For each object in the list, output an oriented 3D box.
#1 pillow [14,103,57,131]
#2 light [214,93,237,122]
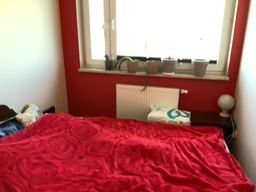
[{"bbox_3d":[-0.930,0.200,2.170,0.190,0.120,0.390,6,19,14],"label":"pillow"},{"bbox_3d":[1.130,0.130,2.470,0.190,0.280,0.170,6,19,16],"label":"light"}]
